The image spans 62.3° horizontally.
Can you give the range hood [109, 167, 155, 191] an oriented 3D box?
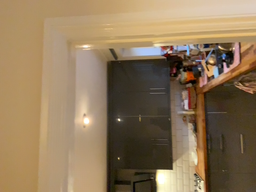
[{"bbox_3d":[0.070,1.580,3.480,0.280,0.730,0.720,45,-136,-82],"label":"range hood"}]
